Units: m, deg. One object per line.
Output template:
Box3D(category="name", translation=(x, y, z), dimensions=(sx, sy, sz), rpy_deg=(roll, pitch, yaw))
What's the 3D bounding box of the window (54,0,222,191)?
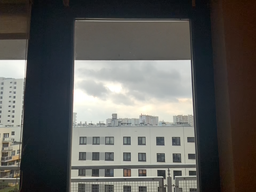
Box3D(category="window", translation=(0.050, 0.630, 1.050), dimensions=(0.770, 2.390, 0.230), rpy_deg=(1, -8, -7))
